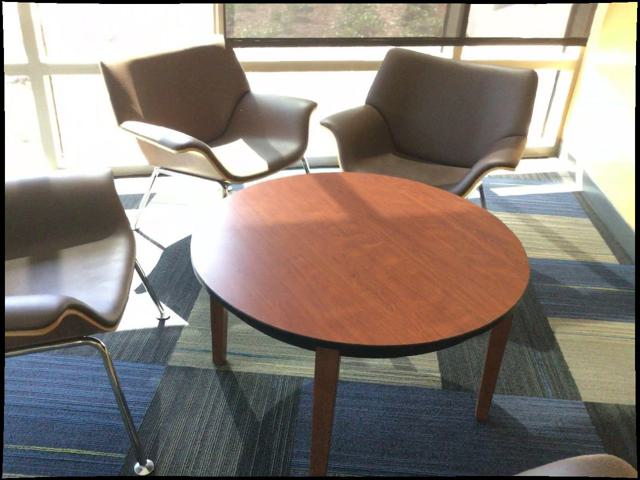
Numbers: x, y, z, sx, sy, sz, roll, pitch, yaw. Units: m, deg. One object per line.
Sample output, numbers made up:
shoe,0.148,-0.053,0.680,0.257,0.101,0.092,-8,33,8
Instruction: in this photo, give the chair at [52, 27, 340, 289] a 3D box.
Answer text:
chair,-0.519,-0.441,2.610,0.799,0.761,0.889,28,40,36

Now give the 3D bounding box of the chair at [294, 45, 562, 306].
chair,0.459,-0.341,2.530,0.898,0.741,0.740,16,34,21
